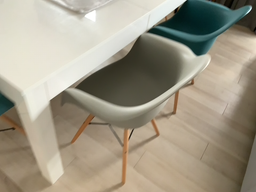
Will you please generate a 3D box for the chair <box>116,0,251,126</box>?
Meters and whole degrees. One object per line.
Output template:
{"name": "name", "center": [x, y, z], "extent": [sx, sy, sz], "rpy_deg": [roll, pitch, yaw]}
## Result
{"name": "chair", "center": [0.360, -0.360, 1.590], "extent": [0.570, 0.820, 0.620], "rpy_deg": [32, 51, 20]}
